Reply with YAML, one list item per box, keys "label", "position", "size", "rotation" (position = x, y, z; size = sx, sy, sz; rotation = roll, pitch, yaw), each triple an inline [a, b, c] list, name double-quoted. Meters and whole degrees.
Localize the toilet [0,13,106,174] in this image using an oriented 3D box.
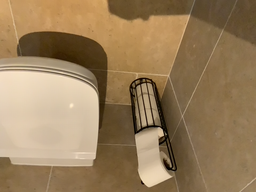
- label: "toilet"
  position: [-0.310, 0.020, 0.880]
  size: [0.390, 0.370, 0.540]
  rotation: [4, 134, -8]
